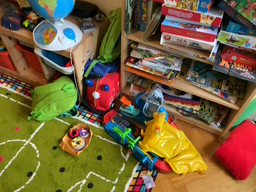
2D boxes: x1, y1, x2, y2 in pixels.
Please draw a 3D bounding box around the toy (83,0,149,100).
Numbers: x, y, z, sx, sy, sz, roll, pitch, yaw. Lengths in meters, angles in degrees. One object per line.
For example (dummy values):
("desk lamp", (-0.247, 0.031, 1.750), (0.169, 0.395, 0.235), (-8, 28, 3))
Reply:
("toy", (-0.070, -0.380, 1.570), (0.240, 0.630, 0.480), (20, 51, 12))
